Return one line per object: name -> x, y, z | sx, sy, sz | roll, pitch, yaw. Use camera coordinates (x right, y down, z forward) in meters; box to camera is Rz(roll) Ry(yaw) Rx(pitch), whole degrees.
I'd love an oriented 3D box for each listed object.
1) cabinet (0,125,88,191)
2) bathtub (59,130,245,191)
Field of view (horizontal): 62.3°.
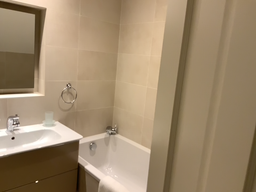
cabinet -> -0.780, 0.570, 1.560 | 0.810, 0.490, 0.460 | -4, 14, -44
bathtub -> 0.250, 0.900, 1.600 | 0.690, 0.600, 1.940 | -4, 14, -43
